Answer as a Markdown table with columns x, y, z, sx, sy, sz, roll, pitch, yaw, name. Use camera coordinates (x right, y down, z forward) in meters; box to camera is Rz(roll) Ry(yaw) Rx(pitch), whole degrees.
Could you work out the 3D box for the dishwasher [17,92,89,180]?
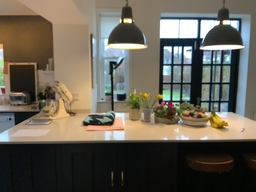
| x | y | z | sx | sy | sz | roll | pitch | yaw | name |
| --- | --- | --- | --- | --- | --- | --- | --- | --- | --- |
| -0.920 | 0.440 | 2.740 | 0.600 | 0.930 | 0.670 | 2 | 5 | 14 | dishwasher |
